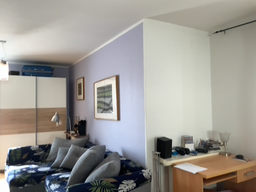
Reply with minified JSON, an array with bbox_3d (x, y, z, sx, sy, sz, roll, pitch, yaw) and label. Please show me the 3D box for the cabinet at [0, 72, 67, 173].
[{"bbox_3d":[-2.360,0.590,5.240,1.530,2.190,0.640,0,-2,-30],"label":"cabinet"}]
